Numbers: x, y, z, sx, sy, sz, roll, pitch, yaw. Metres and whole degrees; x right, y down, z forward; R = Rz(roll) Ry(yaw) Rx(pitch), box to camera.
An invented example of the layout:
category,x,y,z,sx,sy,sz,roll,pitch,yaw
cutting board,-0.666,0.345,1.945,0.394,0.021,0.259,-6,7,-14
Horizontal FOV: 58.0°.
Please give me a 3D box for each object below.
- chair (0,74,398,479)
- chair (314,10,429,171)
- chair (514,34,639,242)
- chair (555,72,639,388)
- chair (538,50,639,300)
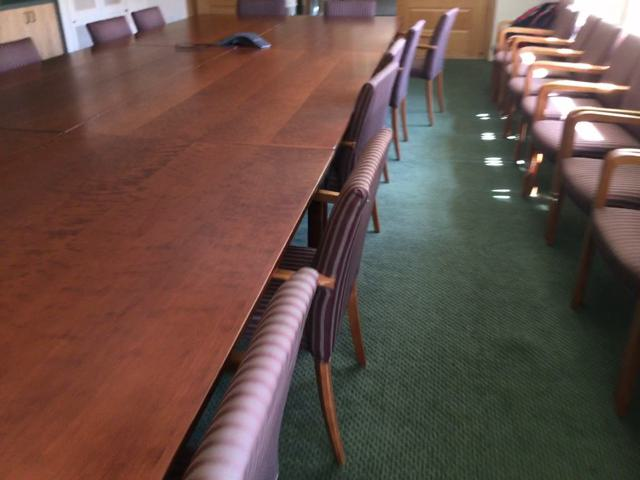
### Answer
category,x,y,z,sx,sy,sz,roll,pitch,yaw
chair,-0.220,0.100,1.600,0.790,0.940,0.630,4,30,9
chair,0.340,-0.980,3.740,0.650,0.870,0.600,4,30,9
chair,1.320,-0.480,2.680,0.630,0.810,0.510,4,30,9
chair,1.190,-0.040,1.890,0.550,0.850,0.620,4,30,9
chair,1.270,-0.260,2.280,0.570,0.830,0.540,4,30,9
